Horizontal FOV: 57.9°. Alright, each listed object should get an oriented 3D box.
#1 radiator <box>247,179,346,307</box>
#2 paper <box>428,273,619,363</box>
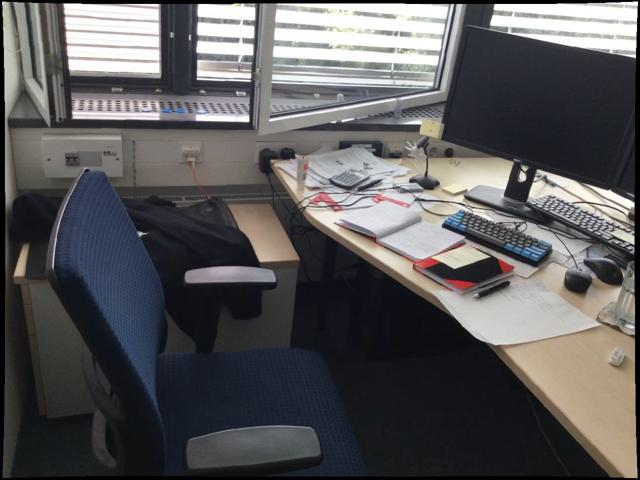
[{"bbox_3d":[-0.110,0.010,2.410,0.330,0.480,0.200,-4,30,-19],"label":"radiator"},{"bbox_3d":[0.440,0.160,1.270,0.330,0.030,0.230,-4,30,-19],"label":"paper"}]
